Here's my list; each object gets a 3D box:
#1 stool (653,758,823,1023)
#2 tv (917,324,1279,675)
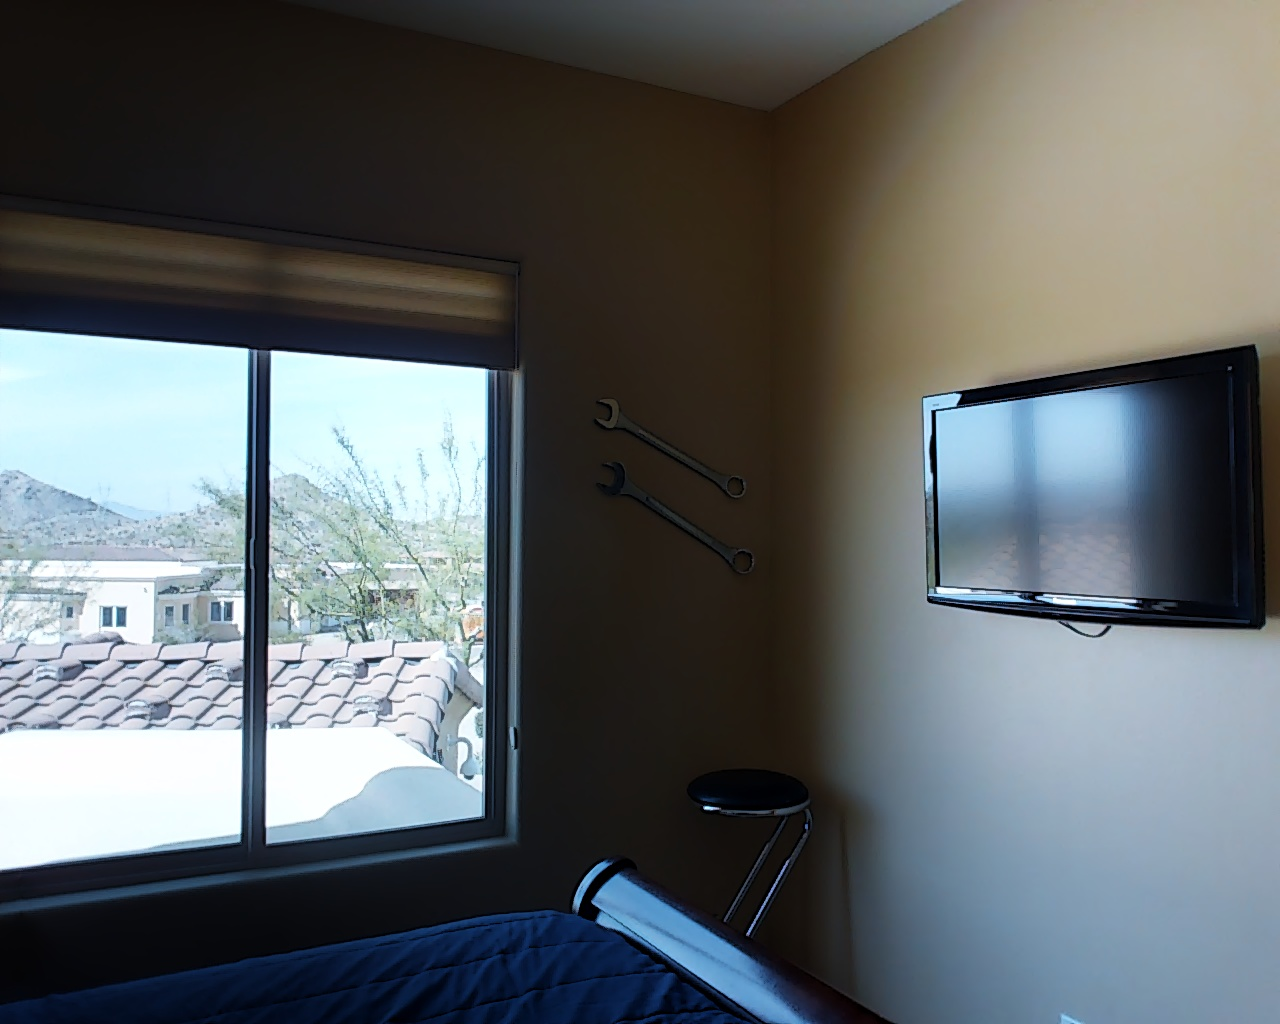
[{"bbox_3d":[0.320,1.210,3.370,0.430,0.740,0.420,0,-1,21],"label":"stool"},{"bbox_3d":[1.030,-0.020,2.510,0.140,0.680,0.930,1,-1,-28],"label":"tv"}]
